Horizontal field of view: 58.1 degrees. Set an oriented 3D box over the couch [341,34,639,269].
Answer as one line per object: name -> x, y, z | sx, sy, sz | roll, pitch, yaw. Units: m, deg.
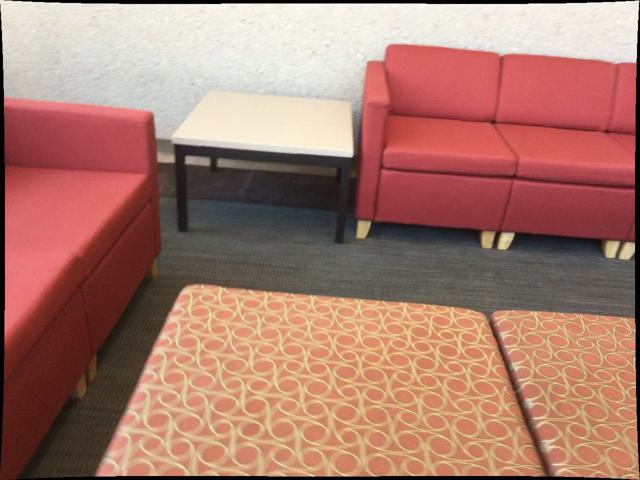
couch -> 1.118, -0.441, 2.800 | 1.937, 0.761, 0.840 | 6, 29, 1
